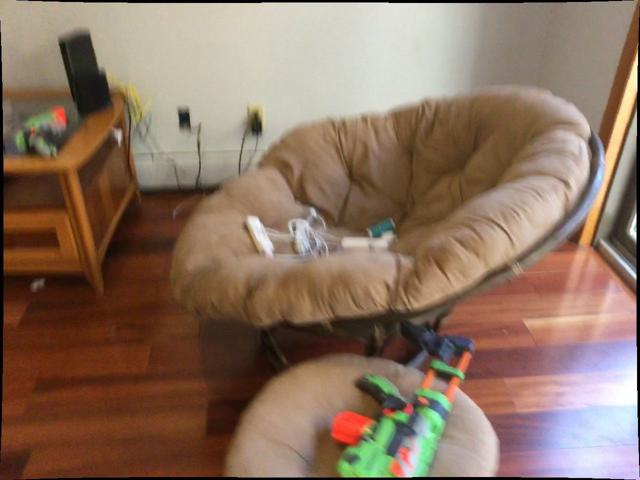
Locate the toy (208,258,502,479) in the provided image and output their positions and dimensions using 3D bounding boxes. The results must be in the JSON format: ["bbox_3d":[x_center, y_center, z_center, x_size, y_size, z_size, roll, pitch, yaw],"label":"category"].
[{"bbox_3d":[0.110,0.320,1.140,0.340,0.120,0.780,14,34,20],"label":"toy"}]

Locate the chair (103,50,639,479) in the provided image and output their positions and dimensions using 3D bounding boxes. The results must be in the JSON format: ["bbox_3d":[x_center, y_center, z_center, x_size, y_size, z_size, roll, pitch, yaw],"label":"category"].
[{"bbox_3d":[0.130,-0.020,1.670,1.109,0.760,1.110,-3,32,-6],"label":"chair"}]
